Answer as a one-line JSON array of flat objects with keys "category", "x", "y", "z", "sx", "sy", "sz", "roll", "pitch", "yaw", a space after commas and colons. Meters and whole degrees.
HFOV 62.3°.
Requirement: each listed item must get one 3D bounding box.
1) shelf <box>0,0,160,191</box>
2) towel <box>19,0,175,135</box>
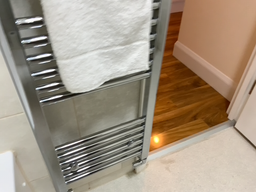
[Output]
[{"category": "shelf", "x": -0.110, "y": -0.050, "z": 0.650, "sx": 0.420, "sy": 1.290, "sz": 0.040, "roll": -19, "pitch": 45, "yaw": -22}, {"category": "towel", "x": -0.070, "y": -0.230, "z": 0.430, "sx": 0.280, "sy": 0.600, "sz": 0.190, "roll": -19, "pitch": 45, "yaw": -22}]
